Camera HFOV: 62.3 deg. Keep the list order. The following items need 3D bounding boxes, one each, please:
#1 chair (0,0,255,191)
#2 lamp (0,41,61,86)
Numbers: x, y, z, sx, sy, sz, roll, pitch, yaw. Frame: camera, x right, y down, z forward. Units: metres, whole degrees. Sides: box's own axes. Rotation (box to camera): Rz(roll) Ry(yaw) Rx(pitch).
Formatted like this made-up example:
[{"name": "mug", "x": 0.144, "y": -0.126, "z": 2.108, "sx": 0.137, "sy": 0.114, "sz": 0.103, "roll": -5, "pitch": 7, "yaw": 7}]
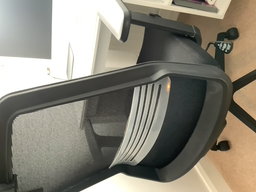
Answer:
[{"name": "chair", "x": 0.010, "y": 0.000, "z": 0.810, "sx": 0.740, "sy": 1.150, "sz": 0.630, "roll": -119, "pitch": 36, "yaw": -46}, {"name": "lamp", "x": -0.720, "y": -0.210, "z": 1.410, "sx": 0.210, "sy": 0.500, "sz": 0.190, "roll": 113, "pitch": 147, "yaw": -42}]
